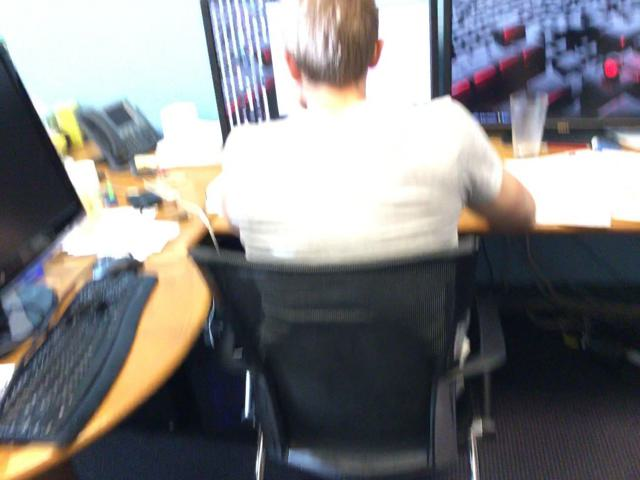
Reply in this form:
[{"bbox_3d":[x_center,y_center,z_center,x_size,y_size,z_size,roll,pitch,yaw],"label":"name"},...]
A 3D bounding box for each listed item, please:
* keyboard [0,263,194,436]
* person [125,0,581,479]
[{"bbox_3d":[-0.400,0.160,1.010,0.210,0.030,0.440,-1,27,11],"label":"keyboard"},{"bbox_3d":[0.150,0.050,1.380,0.600,1.300,0.800,-1,27,11],"label":"person"}]
